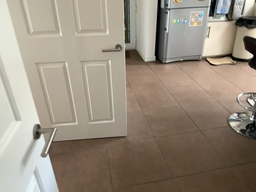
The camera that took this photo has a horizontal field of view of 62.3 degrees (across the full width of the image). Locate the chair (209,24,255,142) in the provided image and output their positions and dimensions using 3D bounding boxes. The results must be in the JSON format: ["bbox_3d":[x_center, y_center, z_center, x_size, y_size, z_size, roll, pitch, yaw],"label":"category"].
[{"bbox_3d":[1.150,-0.130,1.920,0.430,0.890,0.530,-6,31,-10],"label":"chair"}]
